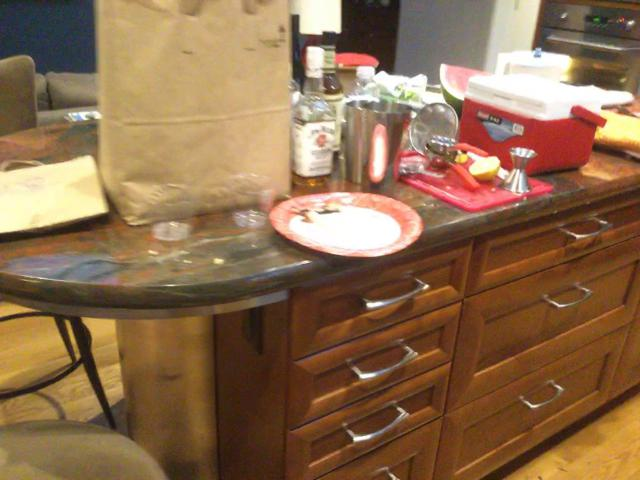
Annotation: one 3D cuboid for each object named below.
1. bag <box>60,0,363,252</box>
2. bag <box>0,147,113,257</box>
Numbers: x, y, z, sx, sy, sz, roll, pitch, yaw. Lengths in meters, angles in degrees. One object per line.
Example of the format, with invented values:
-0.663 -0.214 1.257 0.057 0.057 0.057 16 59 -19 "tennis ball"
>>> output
-0.190 -0.290 1.030 0.410 0.450 0.320 -15 31 -30 "bag"
-0.490 -0.070 0.970 0.230 0.080 0.250 -11 29 -23 "bag"
